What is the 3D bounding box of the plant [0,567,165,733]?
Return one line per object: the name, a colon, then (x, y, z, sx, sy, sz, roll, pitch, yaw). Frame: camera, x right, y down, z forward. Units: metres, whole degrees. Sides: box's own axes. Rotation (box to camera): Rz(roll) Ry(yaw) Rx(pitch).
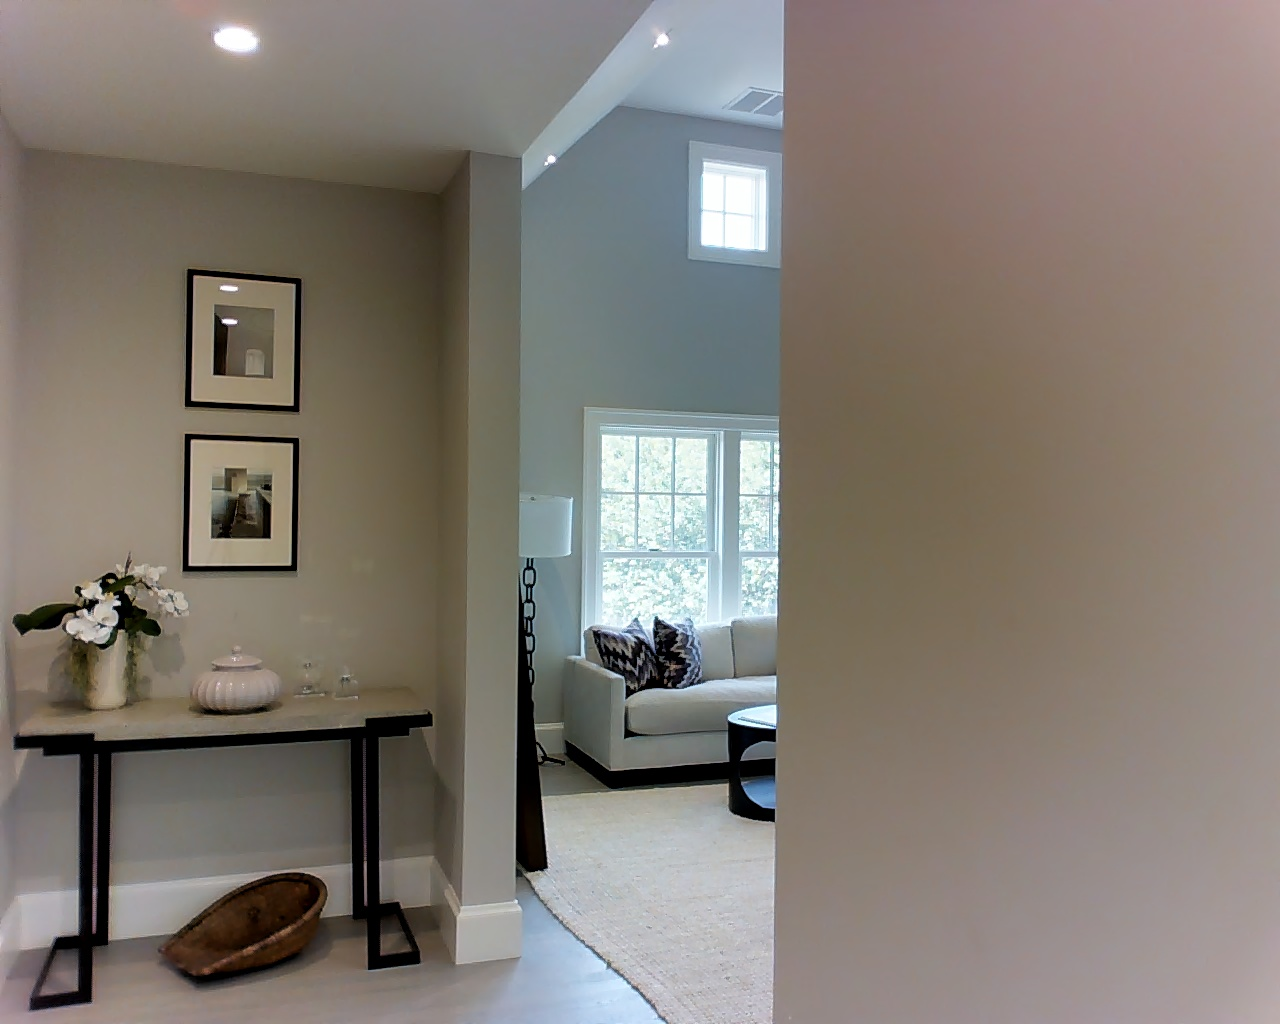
plant: (-1.820, 0.430, 3.530, 0.450, 0.470, 0.470, 1, 0, -21)
